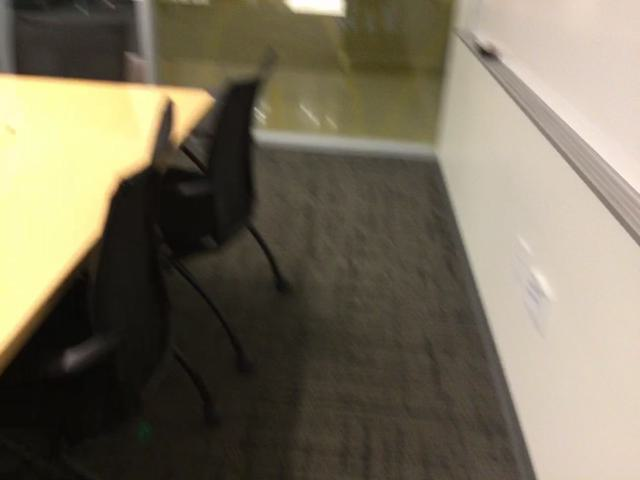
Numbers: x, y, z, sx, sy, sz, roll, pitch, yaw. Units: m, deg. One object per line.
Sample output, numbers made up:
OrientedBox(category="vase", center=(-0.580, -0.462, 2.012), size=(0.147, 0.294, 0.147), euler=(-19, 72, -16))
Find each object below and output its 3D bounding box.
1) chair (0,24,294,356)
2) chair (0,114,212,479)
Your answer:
OrientedBox(category="chair", center=(-0.520, -0.200, 1.950), size=(0.730, 0.850, 0.660), euler=(7, 28, 2))
OrientedBox(category="chair", center=(-0.620, 0.210, 1.320), size=(0.590, 0.790, 0.640), euler=(7, 28, 2))
